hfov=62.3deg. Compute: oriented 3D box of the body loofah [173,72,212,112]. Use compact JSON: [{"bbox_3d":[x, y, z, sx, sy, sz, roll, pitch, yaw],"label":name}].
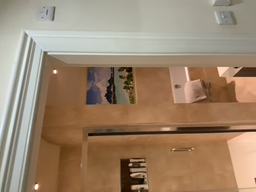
[{"bbox_3d":[0.880,-0.050,2.980,0.460,0.310,0.400,103,165,-65],"label":"body loofah"}]
